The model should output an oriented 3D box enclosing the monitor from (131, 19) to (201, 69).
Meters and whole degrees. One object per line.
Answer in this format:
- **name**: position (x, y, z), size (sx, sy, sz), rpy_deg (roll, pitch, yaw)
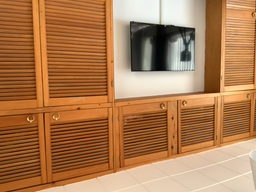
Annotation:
- **monitor**: position (0.480, -0.590, 2.520), size (0.980, 0.530, 0.050), rpy_deg (-4, -172, -27)
